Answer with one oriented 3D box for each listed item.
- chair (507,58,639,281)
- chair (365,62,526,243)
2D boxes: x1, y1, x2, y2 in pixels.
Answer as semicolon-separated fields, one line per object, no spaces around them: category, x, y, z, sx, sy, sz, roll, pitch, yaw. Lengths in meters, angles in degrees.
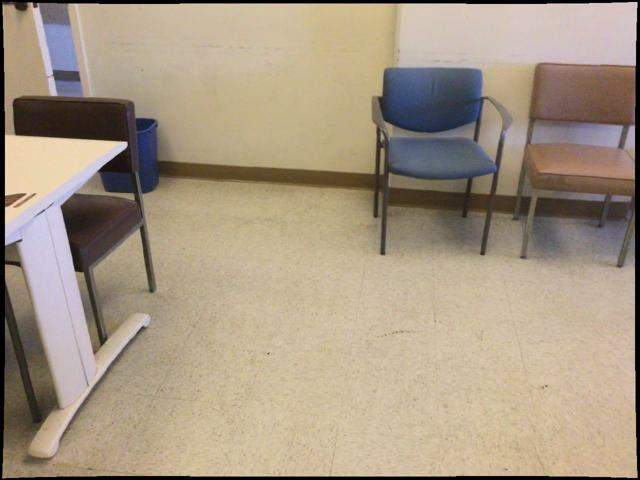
chair;1.207;-0.341;2.610;0.559;0.802;0.600;5;30;12
chair;0.529;-0.431;2.720;0.608;0.651;0.650;1;29;3
